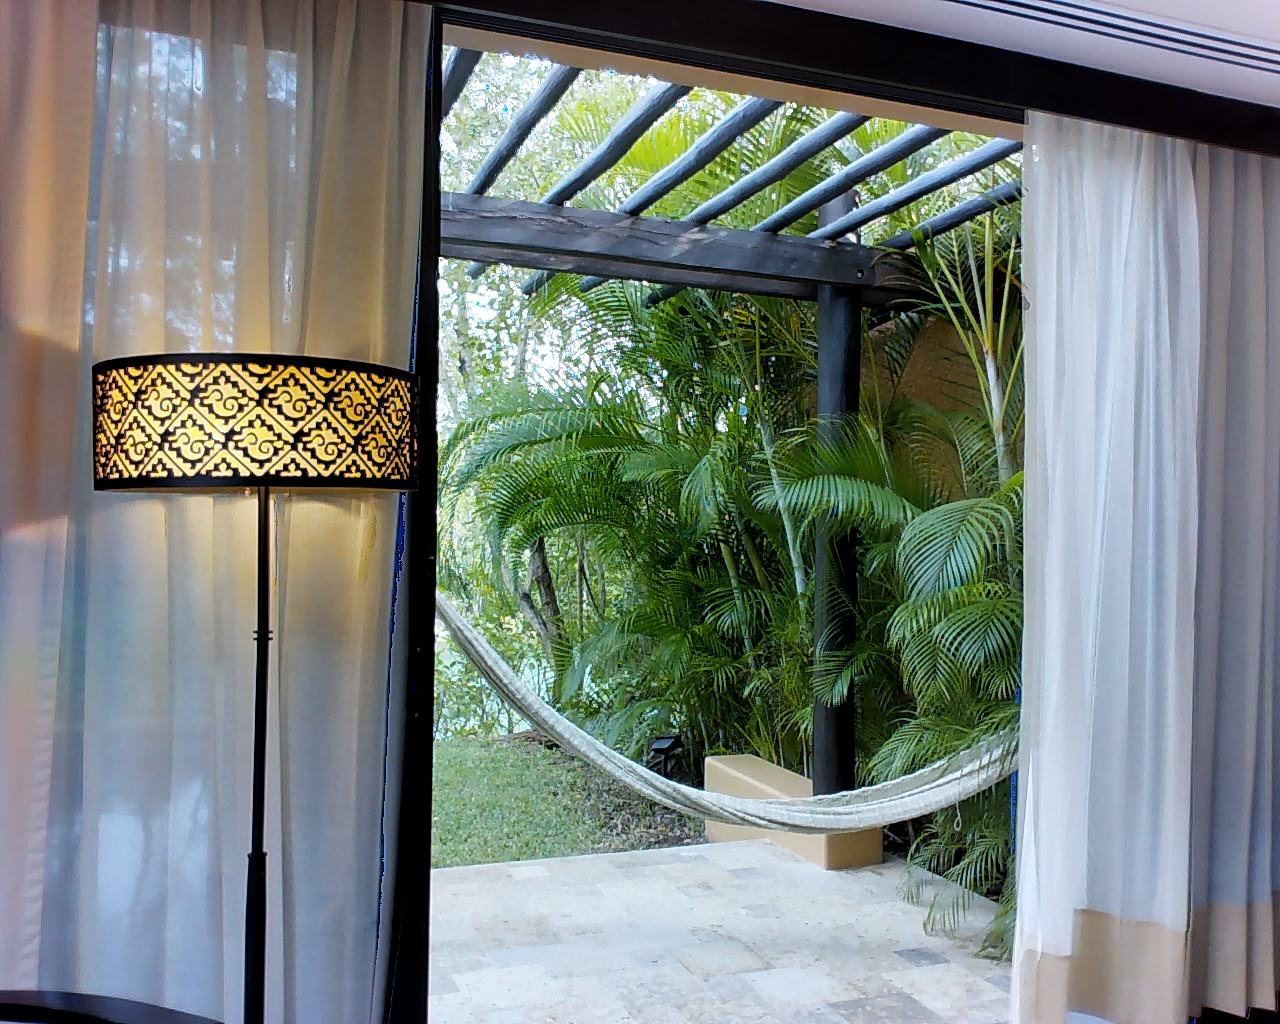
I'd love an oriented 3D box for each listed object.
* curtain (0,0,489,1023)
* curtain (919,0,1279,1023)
[{"bbox_3d":[-0.930,0.070,1.850,1.240,2.621,0.460,1,0,-21],"label":"curtain"},{"bbox_3d":[1.529,0.140,2.810,1.530,2.561,0.510,1,0,-21],"label":"curtain"}]
